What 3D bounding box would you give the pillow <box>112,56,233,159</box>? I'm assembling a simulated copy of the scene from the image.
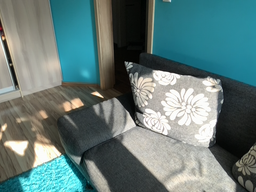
[{"bbox_3d":[0.260,0.030,1.480,0.720,0.430,0.260,23,28,33],"label":"pillow"}]
